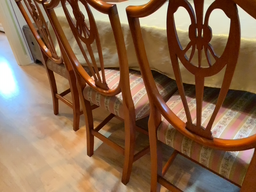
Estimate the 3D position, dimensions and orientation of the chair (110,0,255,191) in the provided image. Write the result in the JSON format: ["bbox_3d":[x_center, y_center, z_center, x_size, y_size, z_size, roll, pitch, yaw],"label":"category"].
[{"bbox_3d":[0.370,0.040,0.810,0.530,0.970,0.550,25,44,39],"label":"chair"}]

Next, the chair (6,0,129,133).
[{"bbox_3d":[-0.390,-0.330,1.530,0.490,0.960,0.500,25,44,39],"label":"chair"}]
